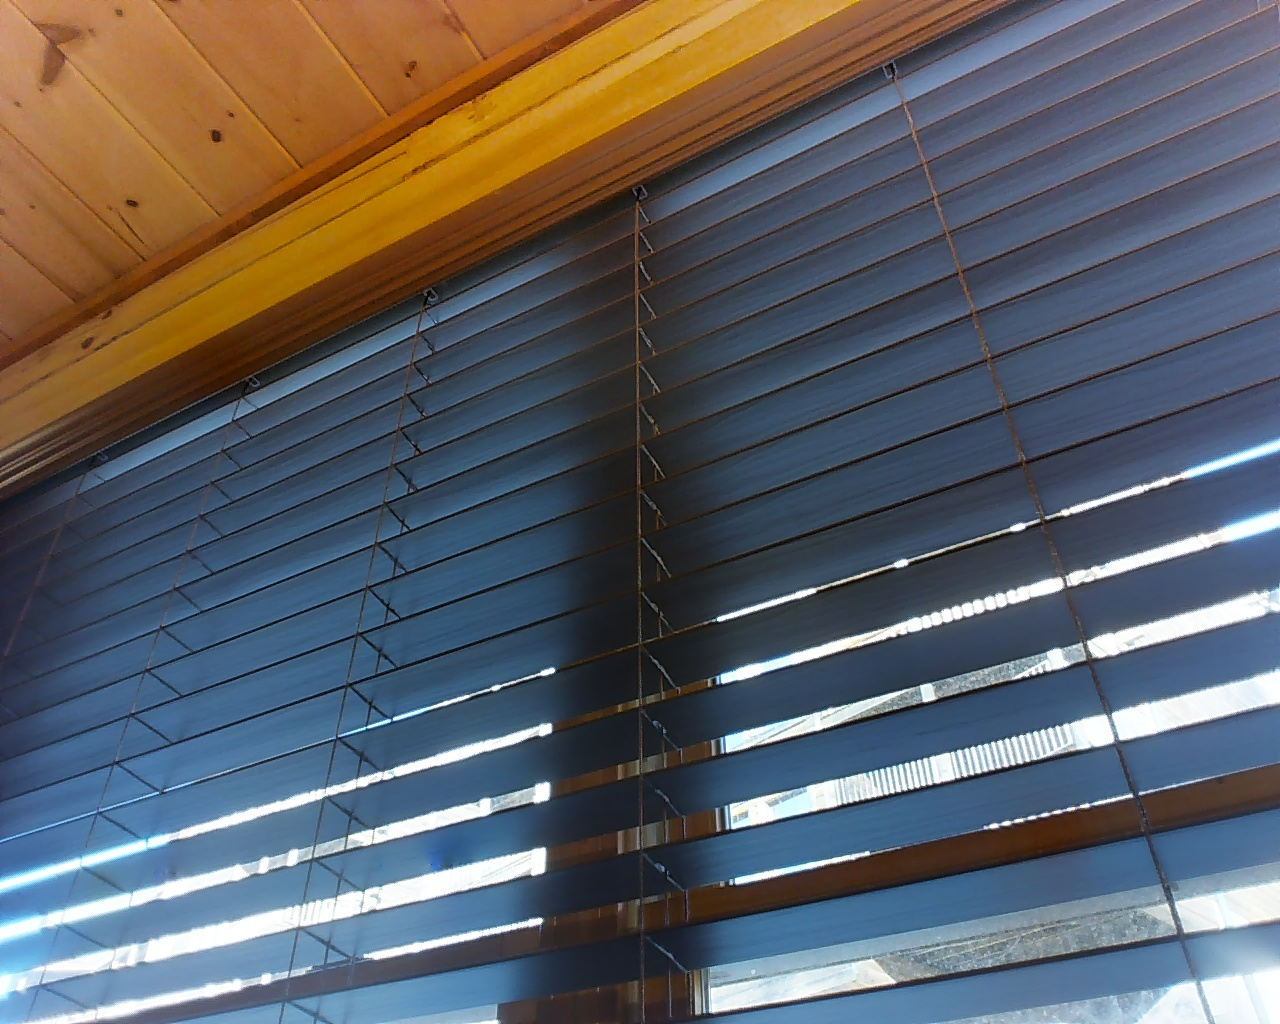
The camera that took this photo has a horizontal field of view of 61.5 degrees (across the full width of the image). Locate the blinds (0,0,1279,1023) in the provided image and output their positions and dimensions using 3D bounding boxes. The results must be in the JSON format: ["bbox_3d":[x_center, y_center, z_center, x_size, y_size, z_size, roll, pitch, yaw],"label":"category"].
[{"bbox_3d":[-0.050,0.170,0.690,2.090,1.430,0.140,-20,-44,22],"label":"blinds"}]
